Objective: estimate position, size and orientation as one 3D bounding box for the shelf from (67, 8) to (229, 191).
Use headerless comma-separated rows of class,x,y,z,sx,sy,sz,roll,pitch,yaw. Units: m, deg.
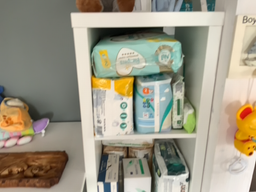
shelf,0.050,0.390,0.970,0.410,1.440,0.420,-1,20,-2
